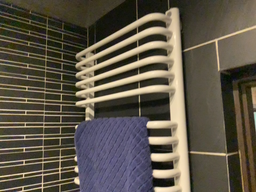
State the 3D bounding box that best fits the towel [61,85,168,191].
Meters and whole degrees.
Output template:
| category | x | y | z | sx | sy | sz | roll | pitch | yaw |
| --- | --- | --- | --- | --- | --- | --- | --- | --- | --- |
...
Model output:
| category | x | y | z | sx | sy | sz | roll | pitch | yaw |
| --- | --- | --- | --- | --- | --- | --- | --- | --- | --- |
| towel | -0.060 | 0.340 | 0.640 | 0.130 | 0.690 | 0.350 | 6 | -11 | -43 |
